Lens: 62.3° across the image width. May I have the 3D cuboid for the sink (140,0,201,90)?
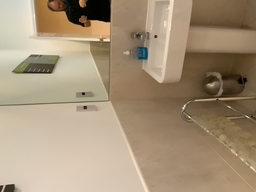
[{"bbox_3d":[0.250,-0.370,1.420,0.430,0.170,0.540,-125,36,-64],"label":"sink"}]

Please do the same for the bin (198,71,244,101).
[{"bbox_3d":[0.780,-0.090,1.800,0.170,0.280,0.210,-128,39,-66],"label":"bin"}]
